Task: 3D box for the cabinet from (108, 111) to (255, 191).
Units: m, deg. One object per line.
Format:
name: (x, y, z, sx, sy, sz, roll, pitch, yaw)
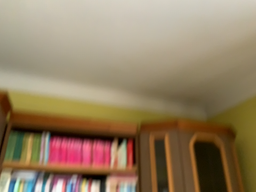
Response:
cabinet: (0.430, 0.920, 1.580, 1.040, 1.360, 0.570, 11, -28, -21)
